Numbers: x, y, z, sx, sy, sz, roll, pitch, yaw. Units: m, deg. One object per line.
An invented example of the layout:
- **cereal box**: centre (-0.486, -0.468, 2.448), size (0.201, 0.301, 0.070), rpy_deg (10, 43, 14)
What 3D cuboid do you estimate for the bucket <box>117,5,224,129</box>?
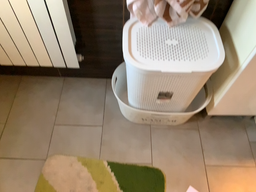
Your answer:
- **bucket**: centre (0.160, -0.110, 1.190), size (0.420, 0.630, 0.350), rpy_deg (3, 58, -1)
